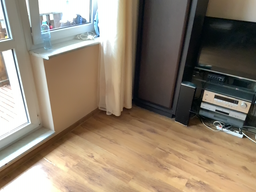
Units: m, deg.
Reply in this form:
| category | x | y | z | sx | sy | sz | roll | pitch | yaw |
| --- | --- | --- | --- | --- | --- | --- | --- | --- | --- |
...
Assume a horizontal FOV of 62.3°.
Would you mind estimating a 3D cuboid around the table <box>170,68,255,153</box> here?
| category | x | y | z | sx | sy | sz | roll | pitch | yaw |
| --- | --- | --- | --- | --- | --- | --- | --- | --- | --- |
| table | 1.080 | 0.120 | 2.270 | 1.030 | 0.460 | 0.580 | 19 | 33 | 27 |
